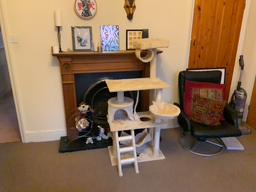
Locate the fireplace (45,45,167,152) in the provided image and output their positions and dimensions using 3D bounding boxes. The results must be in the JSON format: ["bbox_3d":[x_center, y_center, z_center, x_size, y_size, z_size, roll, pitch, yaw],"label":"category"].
[{"bbox_3d":[-0.280,-0.020,2.830,1.370,1.210,0.590,-4,21,-14],"label":"fireplace"}]
